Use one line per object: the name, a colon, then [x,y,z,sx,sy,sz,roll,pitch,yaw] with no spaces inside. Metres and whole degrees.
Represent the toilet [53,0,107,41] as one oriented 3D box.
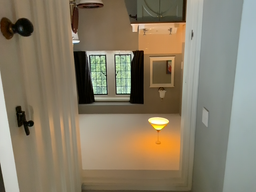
toilet: [-0.780,-1.450,3.580,0.730,0.980,0.560,-1,-166,4]
